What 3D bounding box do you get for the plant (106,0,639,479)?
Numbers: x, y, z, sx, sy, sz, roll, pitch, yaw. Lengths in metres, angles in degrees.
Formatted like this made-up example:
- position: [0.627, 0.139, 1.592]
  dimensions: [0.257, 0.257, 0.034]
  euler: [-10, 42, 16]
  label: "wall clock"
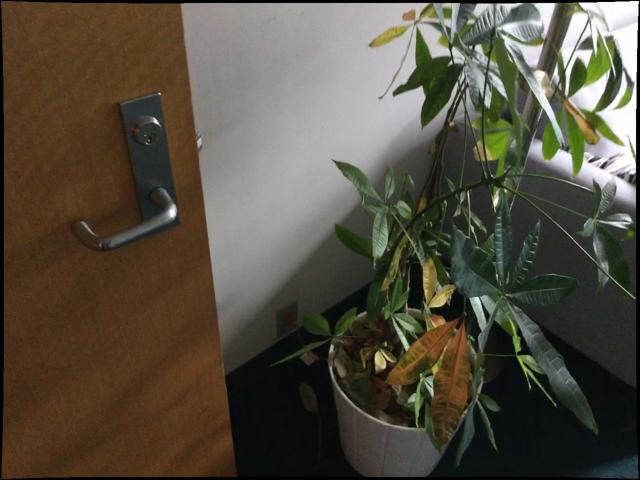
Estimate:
- position: [0.219, 0.231, 1.080]
  dimensions: [0.679, 1.101, 0.810]
  euler: [-29, 51, -29]
  label: "plant"
